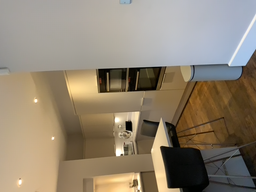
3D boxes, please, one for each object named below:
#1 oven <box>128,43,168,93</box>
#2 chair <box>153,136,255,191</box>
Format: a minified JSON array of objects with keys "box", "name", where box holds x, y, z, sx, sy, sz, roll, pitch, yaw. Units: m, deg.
[{"box":[0.300,-0.470,3.580,0.630,0.510,0.530,96,169,-52],"name":"oven"},{"box":[0.840,0.700,2.100,0.430,1.060,0.410,98,167,-58],"name":"chair"}]
